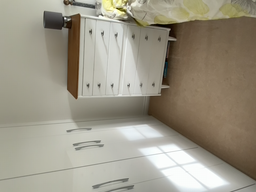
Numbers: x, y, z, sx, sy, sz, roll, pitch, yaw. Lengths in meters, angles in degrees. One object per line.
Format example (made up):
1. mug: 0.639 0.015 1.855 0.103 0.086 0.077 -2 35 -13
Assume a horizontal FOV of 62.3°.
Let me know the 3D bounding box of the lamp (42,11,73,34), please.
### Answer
1. lamp: -0.700 -0.720 2.090 0.210 0.260 0.170 31 119 59
